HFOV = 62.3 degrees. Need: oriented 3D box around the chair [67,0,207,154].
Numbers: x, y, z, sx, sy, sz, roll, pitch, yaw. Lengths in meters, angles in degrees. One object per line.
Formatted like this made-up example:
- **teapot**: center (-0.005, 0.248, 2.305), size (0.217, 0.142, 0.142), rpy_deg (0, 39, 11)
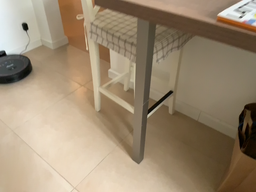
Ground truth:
- **chair**: center (0.040, -0.220, 1.160), size (0.480, 0.900, 0.430), rpy_deg (29, 48, 29)
